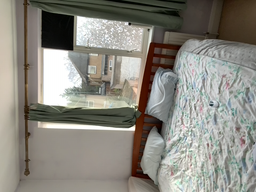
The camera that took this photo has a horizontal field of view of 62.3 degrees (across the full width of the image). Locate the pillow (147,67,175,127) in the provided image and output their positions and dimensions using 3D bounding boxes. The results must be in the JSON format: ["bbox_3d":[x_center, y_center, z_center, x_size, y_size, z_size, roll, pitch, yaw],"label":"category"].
[{"bbox_3d":[0.400,0.000,2.710,0.430,0.140,0.670,-121,36,-72],"label":"pillow"}]
